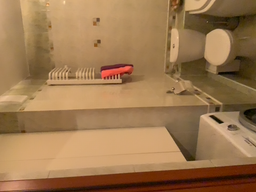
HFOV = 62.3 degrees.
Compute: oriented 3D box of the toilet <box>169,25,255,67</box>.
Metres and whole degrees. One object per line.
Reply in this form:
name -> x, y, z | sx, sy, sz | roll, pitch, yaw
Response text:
toilet -> 0.920, -0.560, 2.300 | 0.630, 0.750, 0.380 | -112, 22, -71
